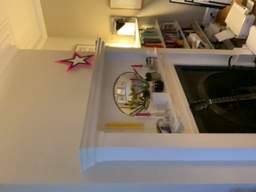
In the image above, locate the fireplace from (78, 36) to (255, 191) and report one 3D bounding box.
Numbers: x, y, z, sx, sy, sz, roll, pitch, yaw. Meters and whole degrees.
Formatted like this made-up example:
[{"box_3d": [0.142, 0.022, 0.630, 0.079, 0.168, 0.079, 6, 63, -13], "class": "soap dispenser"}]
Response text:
[{"box_3d": [0.580, 0.010, 2.200, 1.680, 1.900, 0.530, -94, 6, -50], "class": "fireplace"}]
